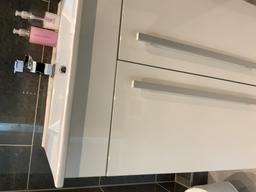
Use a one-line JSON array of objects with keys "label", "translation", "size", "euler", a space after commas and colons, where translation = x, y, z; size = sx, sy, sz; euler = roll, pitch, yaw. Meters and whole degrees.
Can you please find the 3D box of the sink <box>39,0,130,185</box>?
[{"label": "sink", "translation": [-0.170, -0.110, 0.700], "size": [0.460, 0.140, 0.620], "euler": [-2, 82, 65]}]
